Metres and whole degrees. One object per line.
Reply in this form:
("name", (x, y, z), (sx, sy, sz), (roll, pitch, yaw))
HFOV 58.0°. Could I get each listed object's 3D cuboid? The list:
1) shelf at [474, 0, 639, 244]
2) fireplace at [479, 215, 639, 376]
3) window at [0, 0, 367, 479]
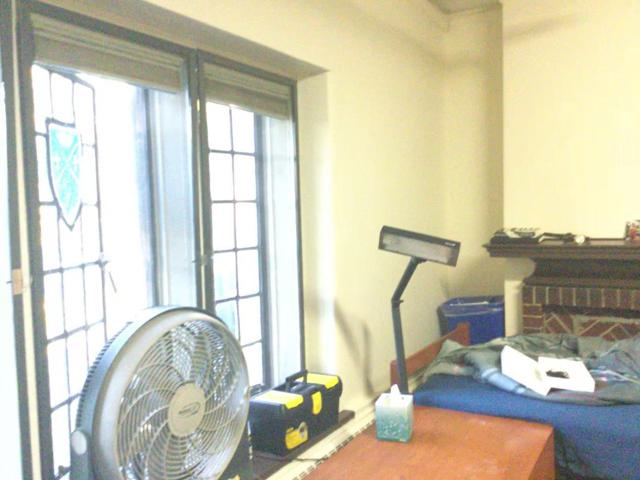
("shelf", (1.660, -0.670, 2.410), (1.910, 1.270, 0.240), (-4, 3, 35))
("fireplace", (1.690, 0.210, 2.320), (2.010, 0.670, 0.250), (-4, 2, 35))
("window", (-0.630, 0.080, 1.650), (0.580, 1.400, 1.840), (-4, 2, 34))
